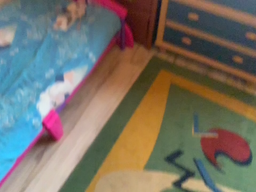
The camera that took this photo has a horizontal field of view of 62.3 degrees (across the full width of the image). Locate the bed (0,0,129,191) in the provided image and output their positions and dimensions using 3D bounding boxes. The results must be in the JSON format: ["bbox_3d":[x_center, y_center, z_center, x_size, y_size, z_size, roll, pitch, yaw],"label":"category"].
[{"bbox_3d":[-0.670,-0.070,1.220,0.740,0.310,1.550,23,59,13],"label":"bed"}]
